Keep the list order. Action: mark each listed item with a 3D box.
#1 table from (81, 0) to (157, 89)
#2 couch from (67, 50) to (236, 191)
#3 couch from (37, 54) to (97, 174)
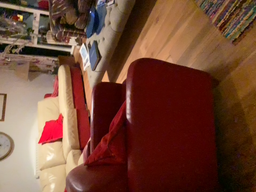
[{"bbox_3d":[-0.200,-0.900,2.660,1.570,0.340,0.800,-57,39,45],"label":"table"},{"bbox_3d":[0.080,0.240,1.420,0.720,0.820,0.780,-20,71,62],"label":"couch"},{"bbox_3d":[-1.320,0.300,4.210,1.080,0.780,2.020,-59,40,45],"label":"couch"}]
